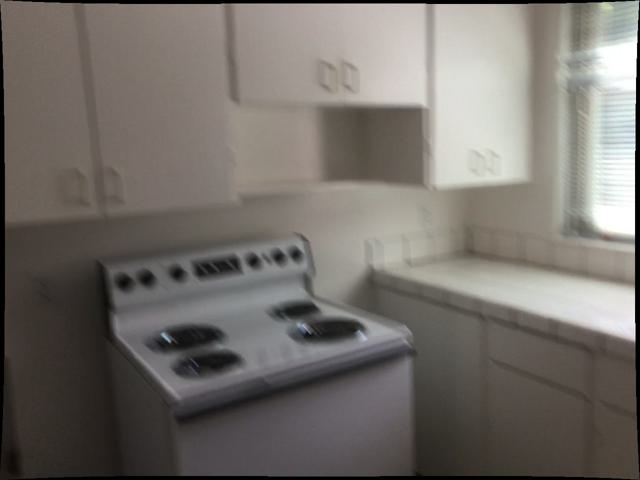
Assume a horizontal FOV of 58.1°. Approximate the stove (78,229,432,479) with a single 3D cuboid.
[{"bbox_3d":[-0.210,0.631,1.940,0.859,1.132,0.770,-10,14,-31],"label":"stove"}]
